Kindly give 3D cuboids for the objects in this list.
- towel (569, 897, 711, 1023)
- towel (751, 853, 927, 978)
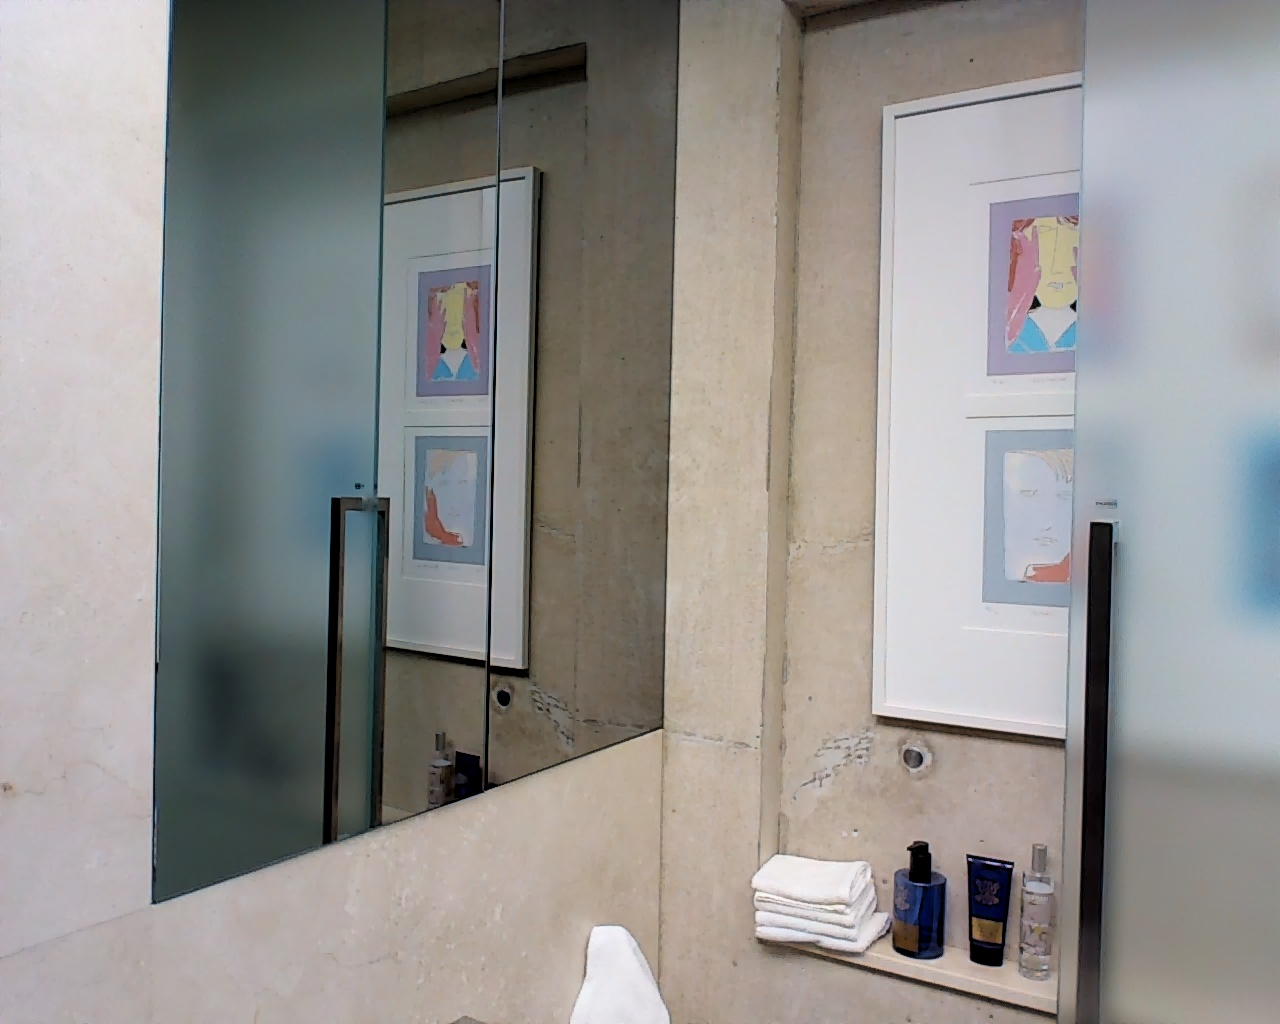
[{"bbox_3d":[0.000,0.680,1.440,0.120,0.250,0.160,2,0,33],"label":"towel"},{"bbox_3d":[0.280,0.560,1.500,0.210,0.090,0.130,2,0,29],"label":"towel"}]
